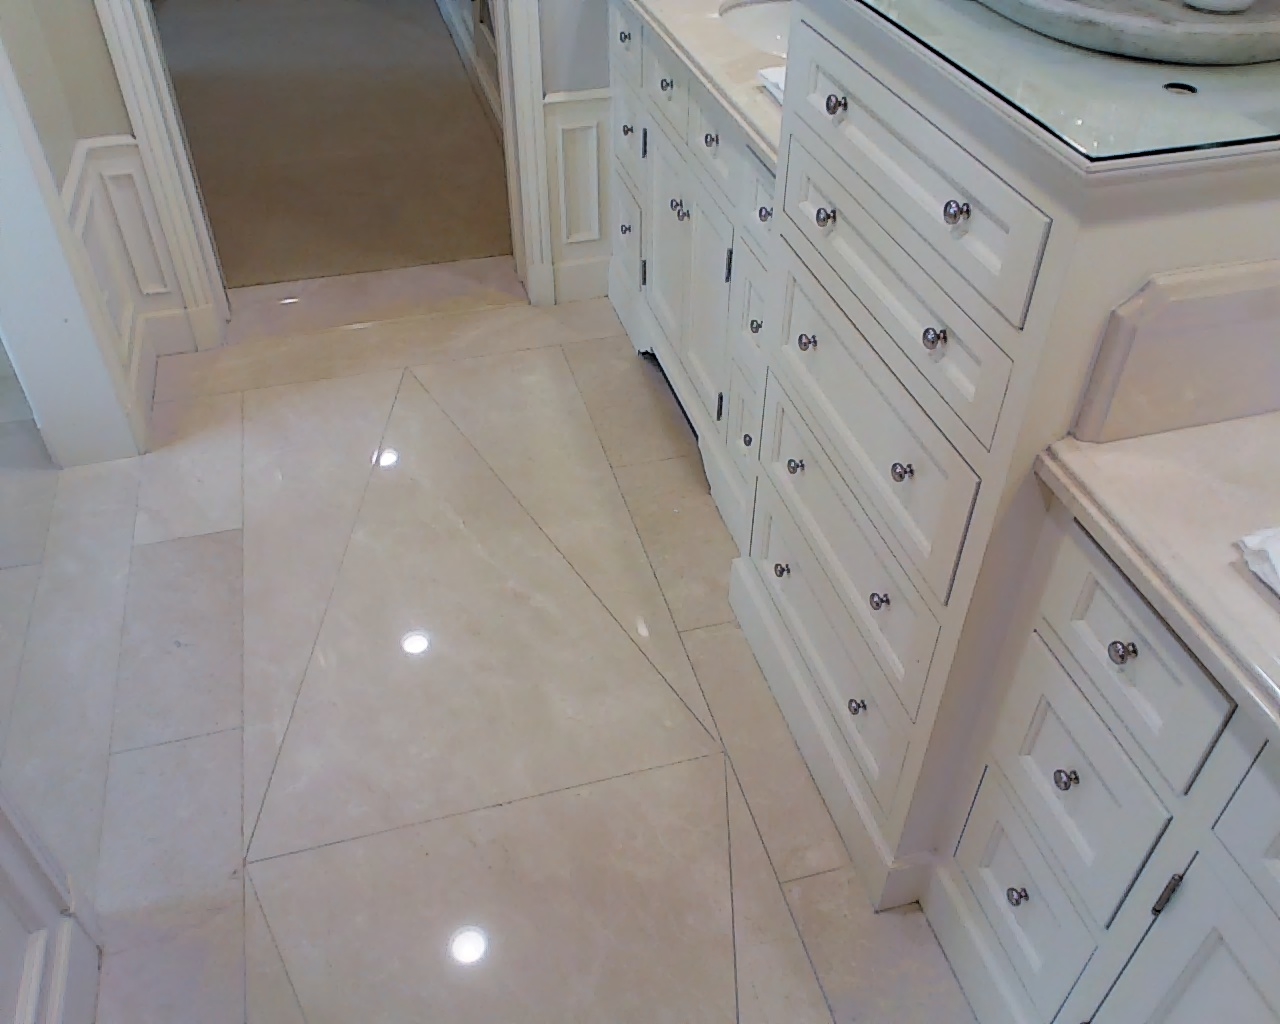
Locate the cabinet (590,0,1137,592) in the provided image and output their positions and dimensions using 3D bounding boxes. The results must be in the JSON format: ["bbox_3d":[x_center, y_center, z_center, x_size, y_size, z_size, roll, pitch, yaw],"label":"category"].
[{"bbox_3d":[0.330,-0.660,2.420,0.560,0.970,1.290,-11,43,-12],"label":"cabinet"}]
